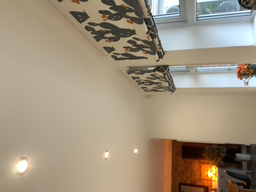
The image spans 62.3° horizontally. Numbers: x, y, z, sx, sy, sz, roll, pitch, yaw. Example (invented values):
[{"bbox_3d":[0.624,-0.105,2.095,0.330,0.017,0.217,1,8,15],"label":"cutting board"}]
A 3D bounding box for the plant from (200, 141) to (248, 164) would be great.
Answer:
[{"bbox_3d":[3.030,1.790,6.800,0.450,1.350,0.590,33,-121,-70],"label":"plant"}]
